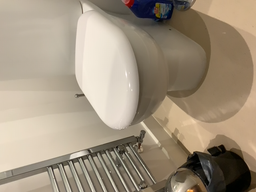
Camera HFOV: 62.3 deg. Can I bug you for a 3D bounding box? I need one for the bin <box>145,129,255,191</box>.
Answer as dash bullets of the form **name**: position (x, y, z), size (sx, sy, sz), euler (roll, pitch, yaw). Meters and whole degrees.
- **bin**: position (0.270, 0.330, 0.800), size (0.210, 0.300, 0.280), euler (49, 137, 40)
